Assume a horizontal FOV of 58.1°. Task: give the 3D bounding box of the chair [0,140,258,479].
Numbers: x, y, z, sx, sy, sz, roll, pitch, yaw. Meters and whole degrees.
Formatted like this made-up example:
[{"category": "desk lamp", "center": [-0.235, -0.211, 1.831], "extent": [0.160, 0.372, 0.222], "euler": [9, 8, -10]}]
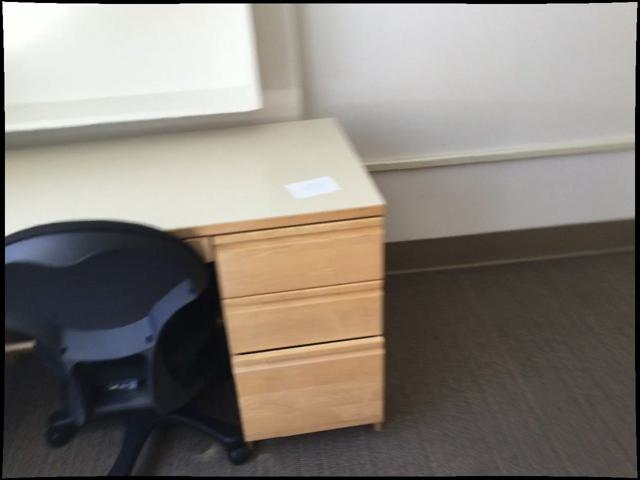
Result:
[{"category": "chair", "center": [-0.539, 0.261, 1.520], "extent": [0.668, 0.872, 0.480], "euler": [-5, 32, -4]}]
